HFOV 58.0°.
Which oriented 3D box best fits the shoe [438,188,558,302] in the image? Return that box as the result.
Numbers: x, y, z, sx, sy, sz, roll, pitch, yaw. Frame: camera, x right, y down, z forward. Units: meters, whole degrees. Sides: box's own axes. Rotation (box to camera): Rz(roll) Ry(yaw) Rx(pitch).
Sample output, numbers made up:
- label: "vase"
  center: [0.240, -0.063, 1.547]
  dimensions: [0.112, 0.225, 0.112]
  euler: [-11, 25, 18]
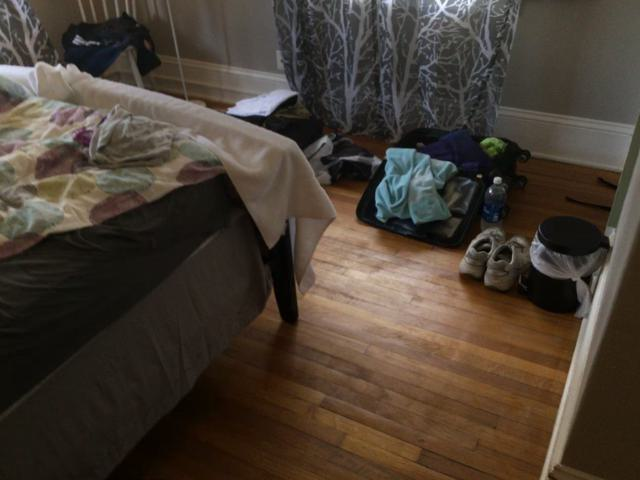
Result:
- label: "shoe"
  center: [0.710, 0.000, 2.280]
  dimensions: [0.340, 0.130, 0.500]
  euler: [14, 38, 23]

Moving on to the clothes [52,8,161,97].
- label: "clothes"
  center: [-1.240, -1.120, 3.430]
  dimensions: [0.450, 0.350, 0.480]
  euler: [-5, 35, -3]
